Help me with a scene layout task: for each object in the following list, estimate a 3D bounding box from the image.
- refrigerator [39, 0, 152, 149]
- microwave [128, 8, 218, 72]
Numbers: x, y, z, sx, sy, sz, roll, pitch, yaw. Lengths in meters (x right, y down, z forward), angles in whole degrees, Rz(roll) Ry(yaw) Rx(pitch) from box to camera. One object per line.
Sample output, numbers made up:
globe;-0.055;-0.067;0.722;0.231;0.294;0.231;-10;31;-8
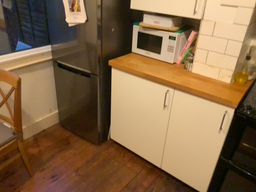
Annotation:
refrigerator;-0.300;-0.520;2.140;0.680;1.840;0.760;24;35;32
microwave;0.360;-0.510;1.820;0.600;0.370;0.370;24;35;32
